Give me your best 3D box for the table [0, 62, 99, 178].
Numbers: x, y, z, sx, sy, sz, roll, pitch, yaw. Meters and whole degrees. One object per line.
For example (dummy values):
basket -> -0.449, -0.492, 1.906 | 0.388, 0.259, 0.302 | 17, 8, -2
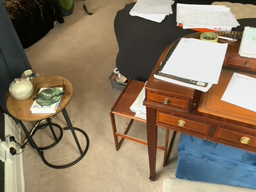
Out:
table -> -0.590, 0.170, 1.530 | 0.540, 0.590, 0.390 | 20, 50, 24

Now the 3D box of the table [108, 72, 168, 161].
table -> 0.090, 0.150, 1.580 | 0.280, 0.470, 0.400 | 13, 47, 17

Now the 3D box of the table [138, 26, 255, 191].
table -> 0.710, 0.220, 1.160 | 1.160, 0.870, 0.550 | 13, 47, 18
